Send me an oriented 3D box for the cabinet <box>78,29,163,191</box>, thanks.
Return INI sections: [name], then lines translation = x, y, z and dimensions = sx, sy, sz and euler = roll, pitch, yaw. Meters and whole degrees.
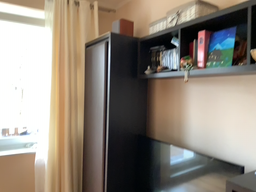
[cabinet]
translation = -0.120, 0.430, 2.180
dimensions = 0.560, 1.970, 0.700
euler = 0, 2, -32
